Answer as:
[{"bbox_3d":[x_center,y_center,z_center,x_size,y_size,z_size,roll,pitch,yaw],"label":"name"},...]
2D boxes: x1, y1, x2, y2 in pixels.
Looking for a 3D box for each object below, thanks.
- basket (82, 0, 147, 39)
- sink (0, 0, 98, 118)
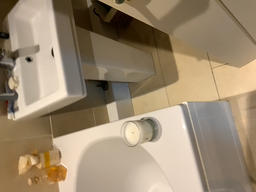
[{"bbox_3d":[-0.070,-0.670,1.450,0.440,0.200,0.260,-48,62,28],"label":"basket"},{"bbox_3d":[-0.370,-0.210,0.920,0.420,0.150,0.530,-18,78,37],"label":"sink"}]
